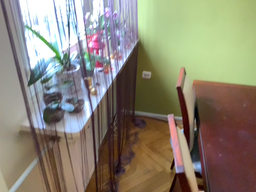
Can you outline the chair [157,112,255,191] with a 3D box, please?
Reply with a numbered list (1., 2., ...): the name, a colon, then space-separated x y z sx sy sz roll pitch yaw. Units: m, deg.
1. chair: 0.410 0.600 0.980 0.530 0.930 0.410 6 29 5
